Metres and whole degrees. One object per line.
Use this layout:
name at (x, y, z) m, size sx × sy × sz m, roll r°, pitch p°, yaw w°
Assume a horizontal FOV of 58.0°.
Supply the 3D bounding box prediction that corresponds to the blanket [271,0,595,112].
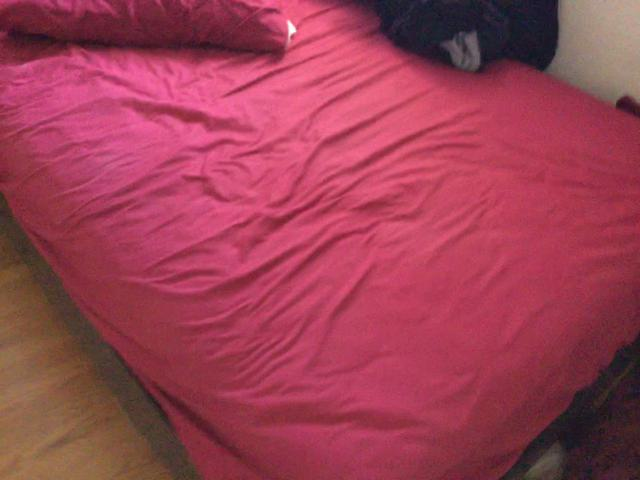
blanket at (0.300, -0.800, 1.680) m, size 0.470 × 0.440 × 0.840 m, roll -21°, pitch 49°, yaw -34°

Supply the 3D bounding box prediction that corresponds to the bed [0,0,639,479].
bed at (-0.120, -0.360, 1.560) m, size 1.520 × 1.140 × 2.210 m, roll -21°, pitch 49°, yaw -34°
